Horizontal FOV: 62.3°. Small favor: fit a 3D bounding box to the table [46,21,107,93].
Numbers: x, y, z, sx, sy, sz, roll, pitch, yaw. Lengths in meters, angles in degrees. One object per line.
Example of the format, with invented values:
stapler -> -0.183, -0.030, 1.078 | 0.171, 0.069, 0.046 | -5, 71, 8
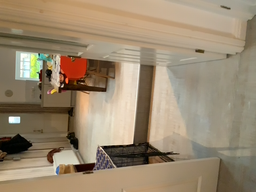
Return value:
table -> -1.110, -0.680, 4.140 | 1.880, 0.780, 1.030 | -164, 77, -65
